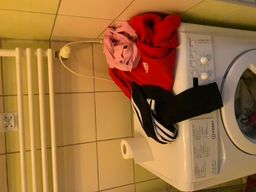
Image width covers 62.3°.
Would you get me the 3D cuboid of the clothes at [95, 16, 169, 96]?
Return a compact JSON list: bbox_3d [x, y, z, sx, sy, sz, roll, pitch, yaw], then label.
[{"bbox_3d":[-0.010,-0.130,0.880,0.380,0.150,0.240,173,94,-66],"label":"clothes"}]
